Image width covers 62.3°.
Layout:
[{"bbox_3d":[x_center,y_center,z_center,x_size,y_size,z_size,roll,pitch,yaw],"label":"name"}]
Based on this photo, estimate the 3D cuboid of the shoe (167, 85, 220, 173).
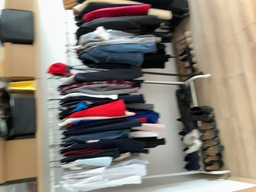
[{"bbox_3d":[0.710,0.370,2.430,0.530,0.180,0.890,145,122,-68],"label":"shoe"}]
